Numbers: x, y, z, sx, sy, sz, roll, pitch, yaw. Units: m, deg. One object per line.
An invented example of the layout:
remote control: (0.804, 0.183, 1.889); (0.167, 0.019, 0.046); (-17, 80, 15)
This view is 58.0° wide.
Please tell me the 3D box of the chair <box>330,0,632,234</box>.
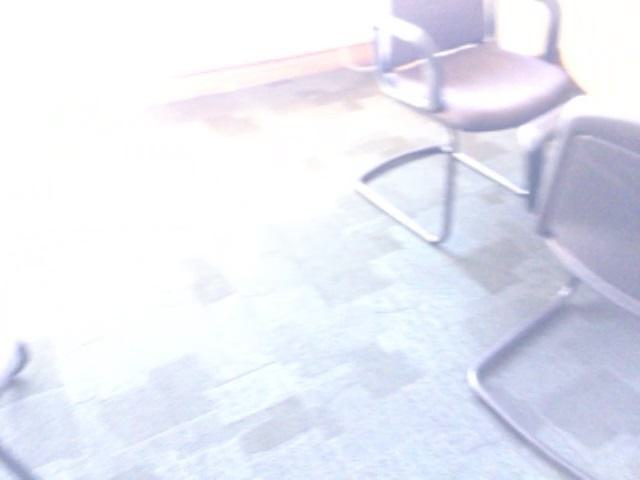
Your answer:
chair: (0.480, -0.560, 1.830); (0.680, 0.680, 0.580); (-29, 46, -30)

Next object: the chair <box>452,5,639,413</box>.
chair: (0.700, -0.080, 1.070); (0.560, 0.480, 0.640); (-20, 42, -21)
